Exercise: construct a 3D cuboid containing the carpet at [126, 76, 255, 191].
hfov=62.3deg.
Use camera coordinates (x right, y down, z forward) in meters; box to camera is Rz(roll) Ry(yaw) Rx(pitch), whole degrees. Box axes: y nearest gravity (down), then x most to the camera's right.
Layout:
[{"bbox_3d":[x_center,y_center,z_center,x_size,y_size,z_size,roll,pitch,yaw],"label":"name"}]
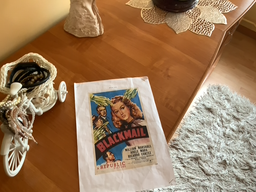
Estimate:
[{"bbox_3d":[0.610,0.420,1.500,0.720,0.050,1.200,34,60,14],"label":"carpet"}]
